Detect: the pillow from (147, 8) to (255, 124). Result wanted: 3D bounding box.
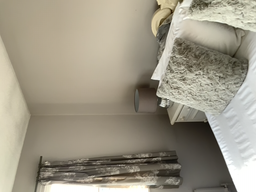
[{"bbox_3d":[0.470,-0.180,1.540,0.660,0.470,0.490,102,166,-50],"label":"pillow"}]

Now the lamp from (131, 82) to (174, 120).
[{"bbox_3d":[0.240,0.060,2.240,0.270,0.360,0.290,102,166,-49],"label":"lamp"}]
